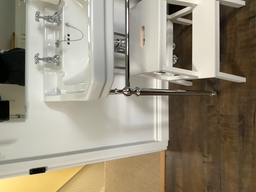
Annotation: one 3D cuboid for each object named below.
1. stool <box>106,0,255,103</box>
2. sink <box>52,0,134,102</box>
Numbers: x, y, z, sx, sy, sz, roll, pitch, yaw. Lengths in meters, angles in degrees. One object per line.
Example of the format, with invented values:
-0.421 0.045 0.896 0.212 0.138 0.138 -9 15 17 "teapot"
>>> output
0.270 -0.220 1.170 0.550 0.570 0.490 -7 84 55 "stool"
-0.190 -0.290 0.960 0.490 0.170 0.620 -4 86 56 "sink"
